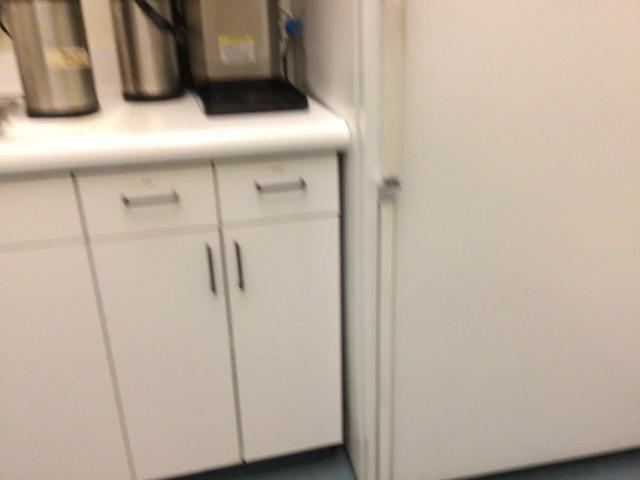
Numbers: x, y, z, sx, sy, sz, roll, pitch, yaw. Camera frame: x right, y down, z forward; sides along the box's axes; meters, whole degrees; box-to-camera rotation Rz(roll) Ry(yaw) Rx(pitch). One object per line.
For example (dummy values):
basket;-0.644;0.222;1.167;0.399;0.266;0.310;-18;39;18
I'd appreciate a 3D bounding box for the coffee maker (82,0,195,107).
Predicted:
coffee maker;-0.390;-0.470;1.250;0.200;0.330;0.130;-7;24;-13

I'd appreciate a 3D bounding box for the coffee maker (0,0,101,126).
coffee maker;-0.510;-0.400;1.070;0.140;0.340;0.170;-7;24;-13

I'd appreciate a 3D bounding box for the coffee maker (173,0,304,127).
coffee maker;-0.190;-0.470;1.240;0.220;0.370;0.380;-7;24;-13
